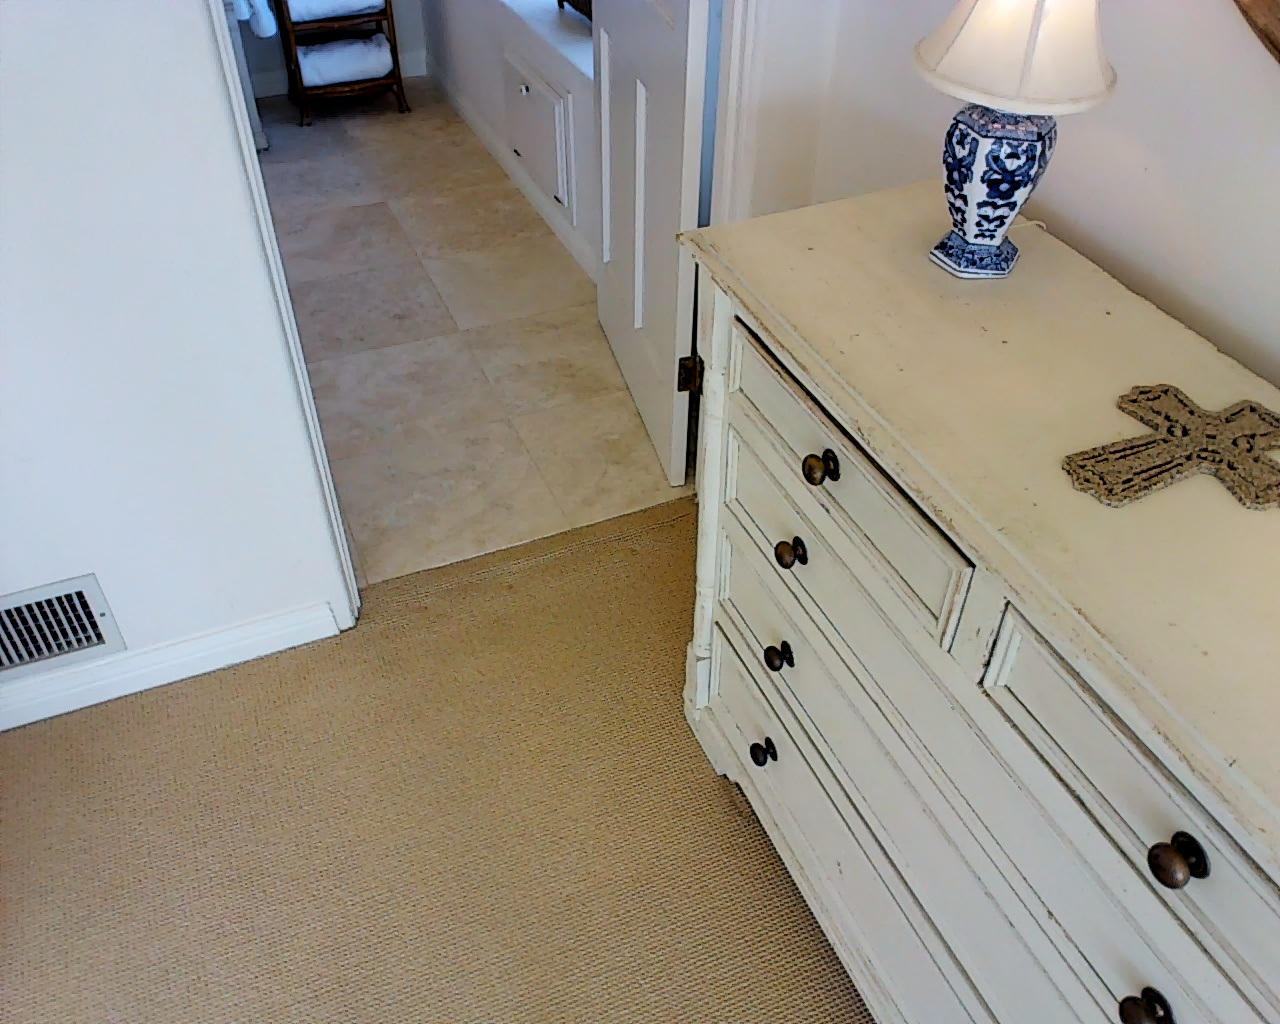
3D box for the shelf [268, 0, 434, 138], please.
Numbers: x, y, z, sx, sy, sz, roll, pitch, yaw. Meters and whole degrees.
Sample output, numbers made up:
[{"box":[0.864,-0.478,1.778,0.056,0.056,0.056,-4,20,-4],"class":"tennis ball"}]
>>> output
[{"box":[-1.150,-1.960,4.160,0.490,0.790,0.480,-16,44,-18],"class":"shelf"}]
